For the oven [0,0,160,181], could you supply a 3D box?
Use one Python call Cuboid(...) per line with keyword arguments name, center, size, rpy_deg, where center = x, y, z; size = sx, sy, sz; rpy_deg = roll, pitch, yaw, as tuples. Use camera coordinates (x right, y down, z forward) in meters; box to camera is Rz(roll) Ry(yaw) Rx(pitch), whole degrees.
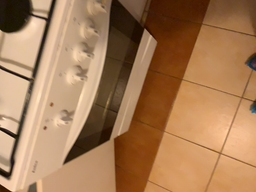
Cuboid(name="oven", center=(-0.280, -0.120, 0.950), size=(0.600, 0.700, 0.510), rpy_deg=(20, 97, 16))
